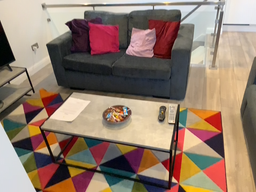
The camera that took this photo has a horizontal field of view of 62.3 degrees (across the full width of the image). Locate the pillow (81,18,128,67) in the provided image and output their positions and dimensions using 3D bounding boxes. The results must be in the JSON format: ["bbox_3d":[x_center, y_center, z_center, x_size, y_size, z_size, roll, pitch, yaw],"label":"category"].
[{"bbox_3d":[-0.300,-0.710,2.810,0.420,0.430,0.220,-39,15,12],"label":"pillow"}]

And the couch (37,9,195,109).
[{"bbox_3d":[-0.070,-0.580,2.760,1.650,0.840,0.980,8,35,18],"label":"couch"}]
